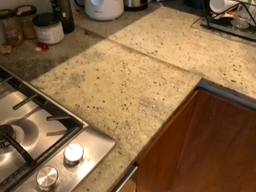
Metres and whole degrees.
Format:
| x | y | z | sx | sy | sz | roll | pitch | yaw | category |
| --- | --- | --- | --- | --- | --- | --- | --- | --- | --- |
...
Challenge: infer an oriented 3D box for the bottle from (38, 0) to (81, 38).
| x | y | z | sx | sy | sz | roll | pitch | yaw | category |
| --- | --- | --- | --- | --- | --- | --- | --- | --- | --- |
| -0.240 | -0.350 | 0.690 | 0.110 | 0.280 | 0.080 | 33 | 52 | 29 | bottle |
